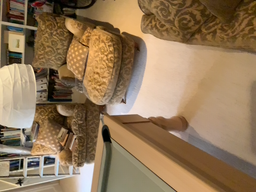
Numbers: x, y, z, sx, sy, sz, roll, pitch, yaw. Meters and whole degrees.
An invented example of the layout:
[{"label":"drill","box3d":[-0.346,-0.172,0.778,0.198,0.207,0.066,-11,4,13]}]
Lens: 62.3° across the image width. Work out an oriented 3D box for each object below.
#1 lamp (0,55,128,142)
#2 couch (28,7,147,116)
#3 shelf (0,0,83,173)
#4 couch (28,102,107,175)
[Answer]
[{"label":"lamp","box3d":[-0.860,-0.020,2.540,0.740,1.450,0.700,30,113,50]},{"label":"couch","box3d":[-0.670,-0.530,2.790,1.630,0.830,0.860,38,120,47]},{"label":"shelf","box3d":[-1.740,-0.510,3.360,0.310,1.870,3.450,17,104,53]},{"label":"couch","box3d":[-0.940,0.520,3.160,1.080,0.820,0.820,-1,89,54]}]
